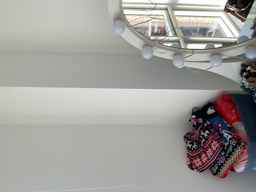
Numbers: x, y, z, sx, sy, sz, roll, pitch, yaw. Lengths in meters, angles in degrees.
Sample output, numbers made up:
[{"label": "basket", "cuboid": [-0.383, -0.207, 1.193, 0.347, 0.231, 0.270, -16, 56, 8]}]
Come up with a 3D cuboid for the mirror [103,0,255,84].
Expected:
[{"label": "mirror", "cuboid": [0.300, -0.330, 0.820, 0.630, 0.780, 0.180, 95, 174, -49]}]
